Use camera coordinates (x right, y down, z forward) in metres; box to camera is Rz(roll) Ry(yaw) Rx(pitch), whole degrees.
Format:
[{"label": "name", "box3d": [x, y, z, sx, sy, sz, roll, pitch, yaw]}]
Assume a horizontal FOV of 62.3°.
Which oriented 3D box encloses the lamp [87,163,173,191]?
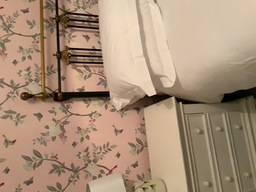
[{"label": "lamp", "box3d": [0.010, 0.530, 1.140, 0.200, 0.410, 0.250, 149, 116, -67]}]
